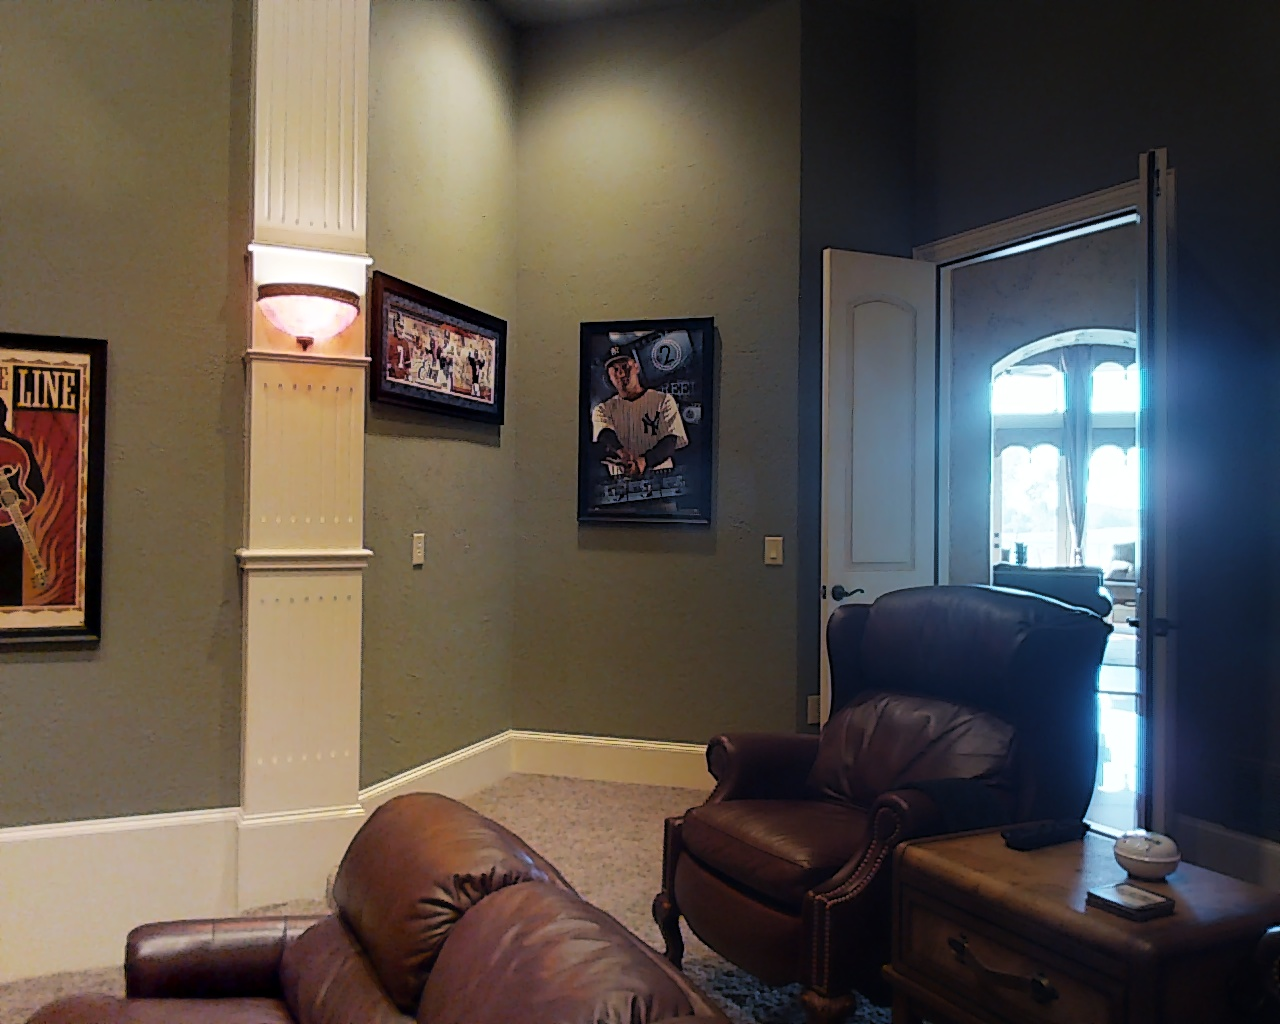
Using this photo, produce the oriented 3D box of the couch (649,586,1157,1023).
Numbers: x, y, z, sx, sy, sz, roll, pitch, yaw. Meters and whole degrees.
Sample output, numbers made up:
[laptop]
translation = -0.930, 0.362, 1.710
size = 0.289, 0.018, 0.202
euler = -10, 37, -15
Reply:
[couch]
translation = 0.660, 0.770, 2.850
size = 0.980, 1.090, 0.840
euler = 1, -1, -26
